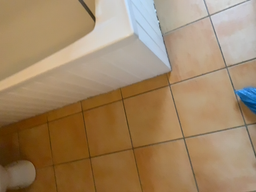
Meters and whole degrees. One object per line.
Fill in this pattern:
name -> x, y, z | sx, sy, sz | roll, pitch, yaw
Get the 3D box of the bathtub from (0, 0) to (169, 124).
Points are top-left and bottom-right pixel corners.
bathtub -> -0.700, -0.280, 1.310 | 1.680, 0.550, 0.680 | -17, 78, 21
